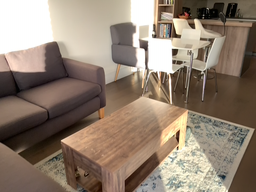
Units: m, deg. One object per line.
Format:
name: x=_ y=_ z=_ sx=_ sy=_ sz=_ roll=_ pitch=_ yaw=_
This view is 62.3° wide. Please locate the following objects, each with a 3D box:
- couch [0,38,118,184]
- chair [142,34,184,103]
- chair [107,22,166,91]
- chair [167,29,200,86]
couch: x=-1.170 y=0.080 z=1.980 sx=0.910 sy=0.870 sz=2.200 roll=17 pitch=29 yaw=34
chair: x=0.500 y=-0.420 z=3.090 sx=0.370 sy=0.870 sz=0.470 roll=16 pitch=29 yaw=33
chair: x=0.150 y=-0.730 z=3.690 sx=0.710 sy=0.980 sz=0.690 roll=17 pitch=29 yaw=34
chair: x=0.970 y=-0.690 z=3.720 sx=0.340 sy=0.870 sz=0.470 roll=15 pitch=28 yaw=32
